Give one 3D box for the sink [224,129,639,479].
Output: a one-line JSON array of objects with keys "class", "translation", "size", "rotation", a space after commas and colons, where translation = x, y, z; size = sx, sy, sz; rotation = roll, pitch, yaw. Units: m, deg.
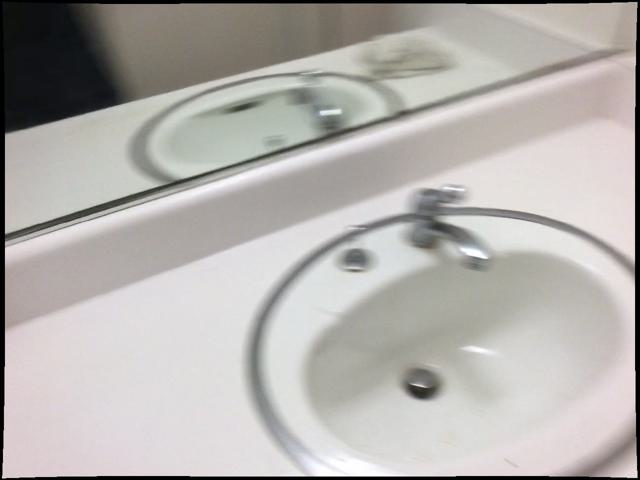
[{"class": "sink", "translation": [0.150, 0.110, 0.800], "size": [0.399, 0.270, 0.390], "rotation": [-24, 45, -19]}]
